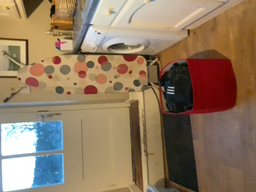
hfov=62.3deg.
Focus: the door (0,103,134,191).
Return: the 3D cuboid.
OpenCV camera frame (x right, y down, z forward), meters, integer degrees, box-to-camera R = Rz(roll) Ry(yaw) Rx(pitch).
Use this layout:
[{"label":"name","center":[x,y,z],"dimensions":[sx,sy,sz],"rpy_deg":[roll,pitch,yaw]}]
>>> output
[{"label":"door","center":[-0.980,0.620,2.200],"dimensions":[0.070,2.140,1.000],"rpy_deg":[168,100,-70]}]
